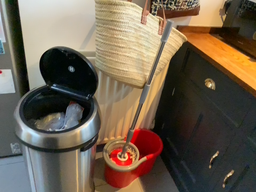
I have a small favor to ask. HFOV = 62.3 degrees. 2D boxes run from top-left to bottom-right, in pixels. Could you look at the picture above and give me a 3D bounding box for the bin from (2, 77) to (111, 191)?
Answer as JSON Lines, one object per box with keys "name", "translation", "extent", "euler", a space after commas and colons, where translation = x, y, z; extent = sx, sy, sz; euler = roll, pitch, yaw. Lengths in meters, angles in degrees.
{"name": "bin", "translation": [-0.360, 0.290, 1.150], "extent": [0.390, 0.670, 0.410], "euler": [-2, 37, -17]}
